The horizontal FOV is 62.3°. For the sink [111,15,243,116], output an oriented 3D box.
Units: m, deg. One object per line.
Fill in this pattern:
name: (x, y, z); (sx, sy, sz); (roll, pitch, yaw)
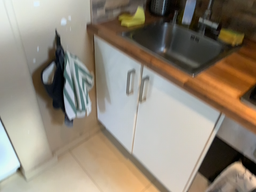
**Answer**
sink: (0.240, -0.210, 1.160); (0.440, 0.220, 0.510); (-28, 51, -33)

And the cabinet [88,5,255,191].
cabinet: (0.250, 0.030, 1.390); (0.620, 0.890, 0.810); (-28, 51, -33)
